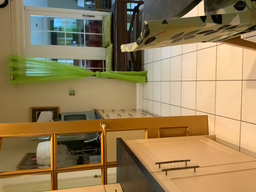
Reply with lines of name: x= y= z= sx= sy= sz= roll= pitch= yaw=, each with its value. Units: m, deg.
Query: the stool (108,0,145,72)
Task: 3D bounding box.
stool: x=-0.040 y=-1.020 z=3.690 sx=0.460 sy=0.540 sz=1.190 roll=-167 pitch=76 yaw=-75
